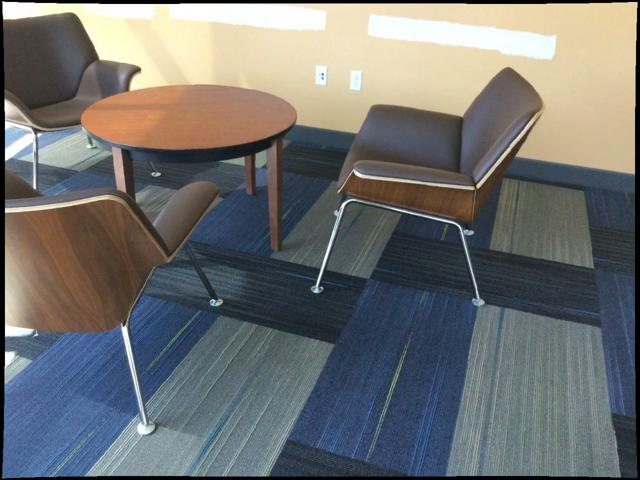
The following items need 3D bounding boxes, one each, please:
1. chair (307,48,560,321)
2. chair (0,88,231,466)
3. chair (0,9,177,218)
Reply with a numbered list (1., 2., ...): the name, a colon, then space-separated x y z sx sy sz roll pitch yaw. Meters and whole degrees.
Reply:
1. chair: 0.429 -0.291 2.400 0.788 0.751 0.890 7 31 9
2. chair: -0.808 0.050 1.740 0.858 0.751 0.770 6 32 6
3. chair: -1.426 -0.742 3.100 0.839 0.731 0.899 27 39 34
